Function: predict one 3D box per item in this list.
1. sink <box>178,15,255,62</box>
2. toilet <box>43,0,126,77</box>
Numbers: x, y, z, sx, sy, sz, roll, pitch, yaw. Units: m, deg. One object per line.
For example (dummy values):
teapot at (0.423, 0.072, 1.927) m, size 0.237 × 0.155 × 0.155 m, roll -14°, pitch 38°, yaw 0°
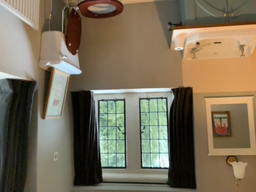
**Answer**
sink at (0.900, -0.560, 2.160) m, size 0.710 × 0.290 × 0.450 m, roll -2°, pitch 176°, yaw 8°
toilet at (-0.410, -0.740, 2.140) m, size 0.690 × 1.000 × 0.470 m, roll -2°, pitch 176°, yaw 9°
